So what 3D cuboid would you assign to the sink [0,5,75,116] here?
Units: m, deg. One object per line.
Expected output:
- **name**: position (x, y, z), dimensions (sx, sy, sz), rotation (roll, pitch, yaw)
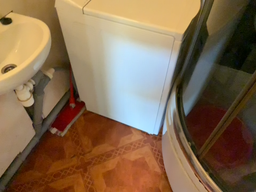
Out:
- **sink**: position (-0.460, -0.170, 0.900), dimensions (0.260, 0.200, 0.400), rotation (19, 53, 12)
